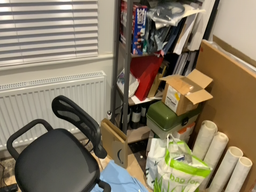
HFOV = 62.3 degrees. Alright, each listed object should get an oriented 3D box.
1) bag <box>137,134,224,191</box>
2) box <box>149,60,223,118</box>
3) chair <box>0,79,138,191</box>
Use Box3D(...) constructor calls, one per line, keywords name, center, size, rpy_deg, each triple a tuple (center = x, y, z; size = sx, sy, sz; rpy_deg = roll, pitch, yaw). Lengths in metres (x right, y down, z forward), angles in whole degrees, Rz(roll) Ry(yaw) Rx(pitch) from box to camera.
Box3D(name="bag", center=(0.320, 0.550, 1.420), size=(0.360, 0.390, 0.330), rpy_deg=(-12, 41, -23))
Box3D(name="box", center=(0.370, -0.060, 1.390), size=(0.350, 0.190, 0.260), rpy_deg=(-18, 43, -28))
Box3D(name="chair", center=(-0.450, 0.480, 1.100), size=(0.710, 0.770, 0.600), rpy_deg=(-28, 48, -36))
